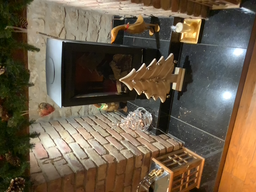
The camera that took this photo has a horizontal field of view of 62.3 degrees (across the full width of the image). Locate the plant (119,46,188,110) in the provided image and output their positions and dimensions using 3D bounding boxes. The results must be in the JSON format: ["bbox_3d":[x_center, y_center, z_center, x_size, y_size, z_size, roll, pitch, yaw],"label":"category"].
[{"bbox_3d":[0.190,-0.140,1.580,0.180,0.460,0.410,24,113,50],"label":"plant"}]
